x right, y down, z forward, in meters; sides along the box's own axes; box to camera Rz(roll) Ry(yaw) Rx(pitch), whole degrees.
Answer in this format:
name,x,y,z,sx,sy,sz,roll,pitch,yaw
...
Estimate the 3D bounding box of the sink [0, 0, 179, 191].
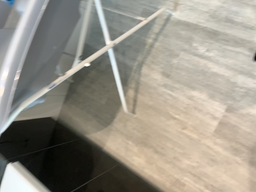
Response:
name,x,y,z,sx,sy,sz,roll,pitch,yaw
sink,-0.290,-0.180,1.010,0.540,0.940,0.950,24,101,24
